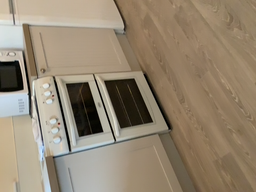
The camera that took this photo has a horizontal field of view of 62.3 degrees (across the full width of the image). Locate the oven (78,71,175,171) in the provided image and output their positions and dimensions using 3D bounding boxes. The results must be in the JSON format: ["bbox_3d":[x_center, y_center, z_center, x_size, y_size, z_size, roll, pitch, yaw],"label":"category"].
[{"bbox_3d":[-0.070,0.210,1.790,0.620,0.480,0.550,-58,46,48],"label":"oven"}]

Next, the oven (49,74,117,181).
[{"bbox_3d":[-0.390,0.250,1.610,0.620,0.270,0.550,-58,46,48],"label":"oven"}]
